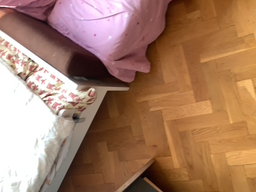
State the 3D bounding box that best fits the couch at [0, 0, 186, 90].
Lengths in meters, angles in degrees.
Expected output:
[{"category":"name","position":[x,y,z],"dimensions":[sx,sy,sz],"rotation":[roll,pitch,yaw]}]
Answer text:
[{"category":"couch","position":[-0.230,-0.540,0.970],"dimensions":[0.780,0.660,0.710],"rotation":[35,105,20]}]
